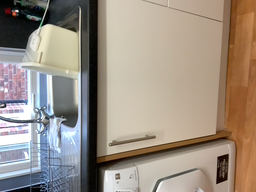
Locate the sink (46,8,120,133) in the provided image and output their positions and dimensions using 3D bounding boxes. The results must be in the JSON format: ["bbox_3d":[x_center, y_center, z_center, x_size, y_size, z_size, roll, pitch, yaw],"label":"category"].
[{"bbox_3d":[-0.240,-0.110,1.010,0.470,0.180,0.450,9,100,56],"label":"sink"}]

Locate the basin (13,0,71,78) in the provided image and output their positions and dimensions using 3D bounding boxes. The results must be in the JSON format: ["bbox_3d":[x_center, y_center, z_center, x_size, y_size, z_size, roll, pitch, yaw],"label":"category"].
[{"bbox_3d":[-0.410,-0.220,0.960,0.460,0.150,0.270,7,98,56],"label":"basin"}]
